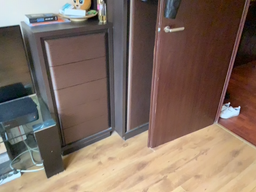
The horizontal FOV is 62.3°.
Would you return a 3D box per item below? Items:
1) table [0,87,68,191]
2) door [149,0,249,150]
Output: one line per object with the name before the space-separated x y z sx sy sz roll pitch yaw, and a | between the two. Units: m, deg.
table | -1.070 0.410 1.550 1.020 0.530 0.550 -20 37 -31
door | 0.590 -0.480 1.670 0.820 1.970 0.100 -17 35 -28
